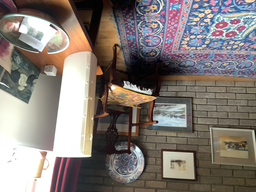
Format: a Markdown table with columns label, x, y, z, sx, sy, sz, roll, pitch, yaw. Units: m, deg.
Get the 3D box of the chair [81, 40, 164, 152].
| label | x | y | z | sx | sy | sz | roll | pitch | yaw |
| --- | --- | --- | --- | --- | --- | --- | --- | --- | --- |
| chair | -0.050 | 0.060 | 2.080 | 0.550 | 0.900 | 0.570 | 13 | 160 | -28 |
